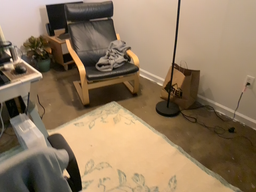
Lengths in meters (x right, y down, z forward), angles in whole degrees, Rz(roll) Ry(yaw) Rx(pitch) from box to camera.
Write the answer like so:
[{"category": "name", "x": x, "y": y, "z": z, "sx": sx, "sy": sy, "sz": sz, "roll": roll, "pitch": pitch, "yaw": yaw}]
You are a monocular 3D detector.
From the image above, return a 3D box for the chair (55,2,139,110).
[{"category": "chair", "x": -0.370, "y": -0.520, "z": 2.490, "sx": 0.640, "sy": 0.900, "sz": 0.880, "roll": -15, "pitch": 37, "yaw": -21}]
